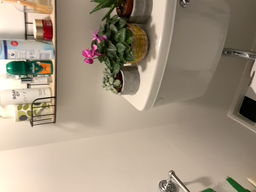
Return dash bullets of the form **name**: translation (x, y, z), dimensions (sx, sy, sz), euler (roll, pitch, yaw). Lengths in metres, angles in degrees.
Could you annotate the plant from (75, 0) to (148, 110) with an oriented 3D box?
- **plant**: translation (-0.070, -0.160, 0.710), dimensions (0.150, 0.160, 0.370), euler (44, 132, 52)
